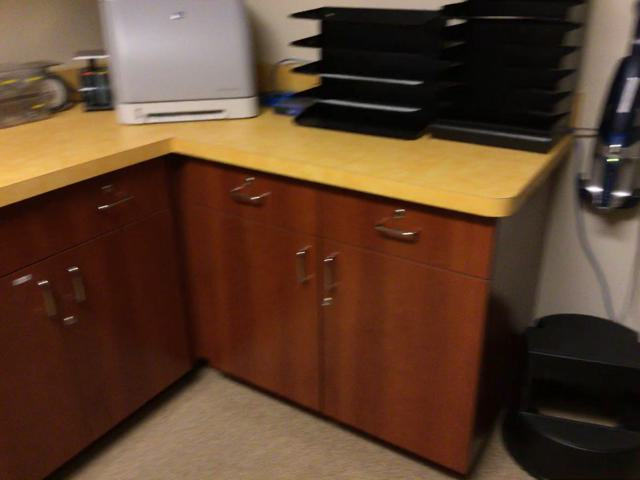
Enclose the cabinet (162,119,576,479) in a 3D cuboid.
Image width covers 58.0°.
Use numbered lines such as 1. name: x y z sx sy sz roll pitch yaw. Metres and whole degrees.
1. cabinet: 0.140 0.110 1.770 0.990 0.780 0.600 12 26 31
